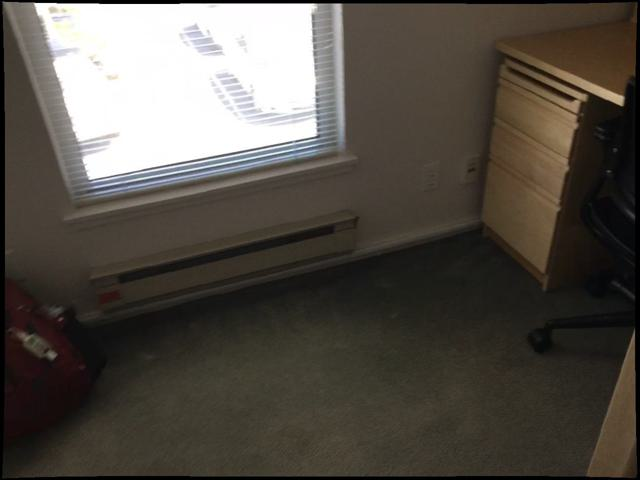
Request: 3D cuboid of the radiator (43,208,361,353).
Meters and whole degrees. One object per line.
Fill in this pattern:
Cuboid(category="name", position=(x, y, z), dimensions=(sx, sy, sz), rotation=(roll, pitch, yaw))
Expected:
Cuboid(category="radiator", position=(-0.369, 0.130, 2.060), dimensions=(1.088, 0.260, 0.080), rotation=(-13, 33, -16))

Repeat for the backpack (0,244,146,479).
Cuboid(category="backpack", position=(-0.898, 0.351, 1.680), dimensions=(0.489, 0.371, 0.490), rotation=(19, 38, 31))

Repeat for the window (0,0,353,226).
Cuboid(category="window", position=(-0.379, -0.571, 1.720), dimensions=(0.968, 0.912, 0.140), rotation=(-13, 33, -16))
